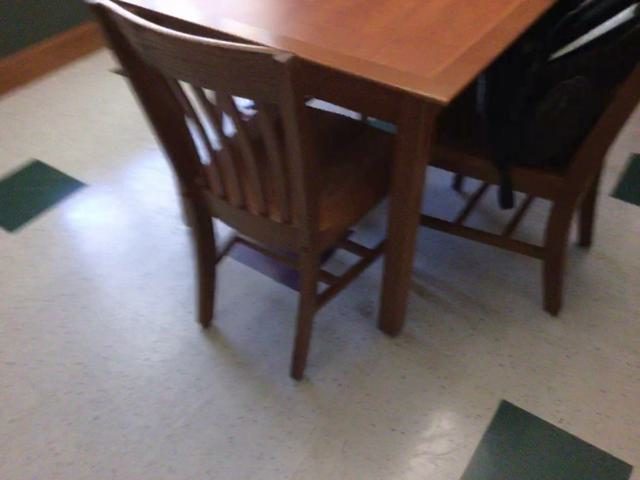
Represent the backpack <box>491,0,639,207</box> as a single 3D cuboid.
[{"bbox_3d":[0.590,-0.430,1.210,0.290,0.510,0.440,15,47,18],"label":"backpack"}]
